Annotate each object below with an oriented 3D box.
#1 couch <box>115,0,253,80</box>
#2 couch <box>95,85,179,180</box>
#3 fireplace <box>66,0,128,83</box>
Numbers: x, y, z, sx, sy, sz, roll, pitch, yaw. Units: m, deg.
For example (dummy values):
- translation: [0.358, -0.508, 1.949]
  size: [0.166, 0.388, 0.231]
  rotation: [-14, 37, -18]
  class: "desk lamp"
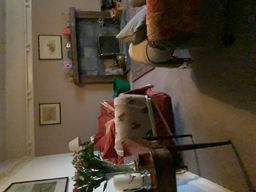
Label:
- translation: [0.360, -1.220, 1.700]
  size: [1.100, 0.720, 1.960]
  rotation: [-131, 40, -68]
  class: "couch"
- translation: [-0.040, 0.490, 3.540]
  size: [2.110, 0.760, 1.050]
  rotation: [162, 105, -75]
  class: "couch"
- translation: [-0.720, -1.230, 4.780]
  size: [0.610, 1.220, 1.750]
  rotation: [155, 111, -75]
  class: "fireplace"
